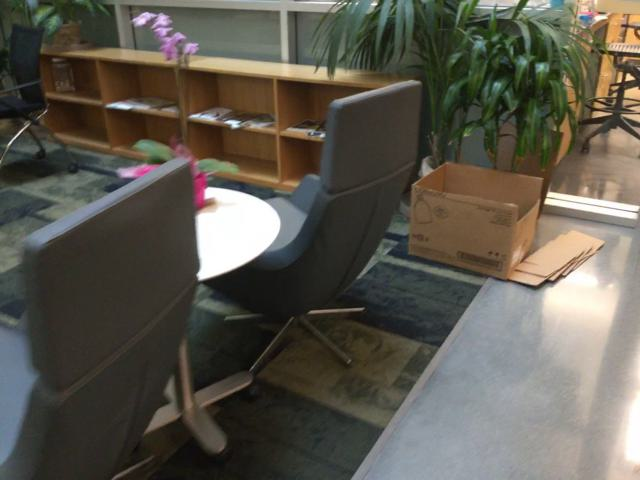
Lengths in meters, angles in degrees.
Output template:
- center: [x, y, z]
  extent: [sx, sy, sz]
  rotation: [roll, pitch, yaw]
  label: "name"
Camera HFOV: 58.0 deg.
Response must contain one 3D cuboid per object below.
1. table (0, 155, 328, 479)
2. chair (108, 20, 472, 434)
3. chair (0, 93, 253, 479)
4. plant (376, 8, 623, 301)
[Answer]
- center: [-0.430, 0.240, 1.690]
  extent: [0.610, 0.730, 0.630]
  rotation: [19, 29, 25]
  label: "table"
- center: [-0.140, -0.140, 2.080]
  extent: [0.920, 1.100, 0.710]
  rotation: [23, 31, 32]
  label: "chair"
- center: [-0.650, 0.230, 1.200]
  extent: [0.730, 0.840, 0.750]
  rotation: [14, 27, 16]
  label: "chair"
- center: [0.780, -0.430, 2.600]
  extent: [0.710, 1.060, 0.640]
  rotation: [19, 29, 25]
  label: "plant"
